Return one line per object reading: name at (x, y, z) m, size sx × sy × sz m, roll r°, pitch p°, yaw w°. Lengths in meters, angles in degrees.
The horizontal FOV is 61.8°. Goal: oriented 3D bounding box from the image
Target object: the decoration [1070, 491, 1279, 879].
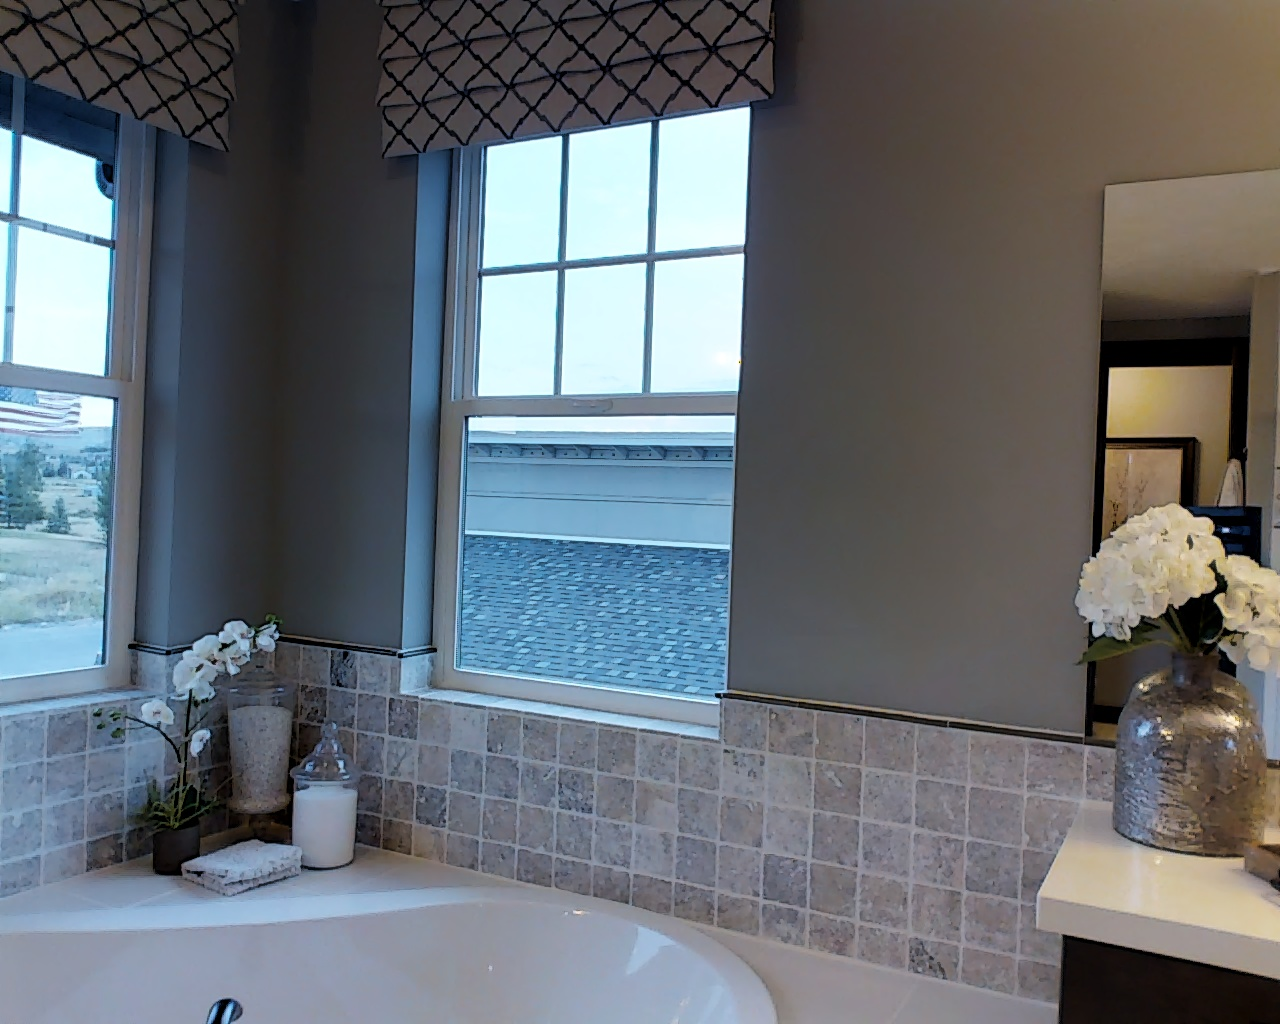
decoration at (0.880, 0.250, 1.700) m, size 0.320 × 0.550 × 0.240 m, roll 2°, pitch 0°, yaw 28°
